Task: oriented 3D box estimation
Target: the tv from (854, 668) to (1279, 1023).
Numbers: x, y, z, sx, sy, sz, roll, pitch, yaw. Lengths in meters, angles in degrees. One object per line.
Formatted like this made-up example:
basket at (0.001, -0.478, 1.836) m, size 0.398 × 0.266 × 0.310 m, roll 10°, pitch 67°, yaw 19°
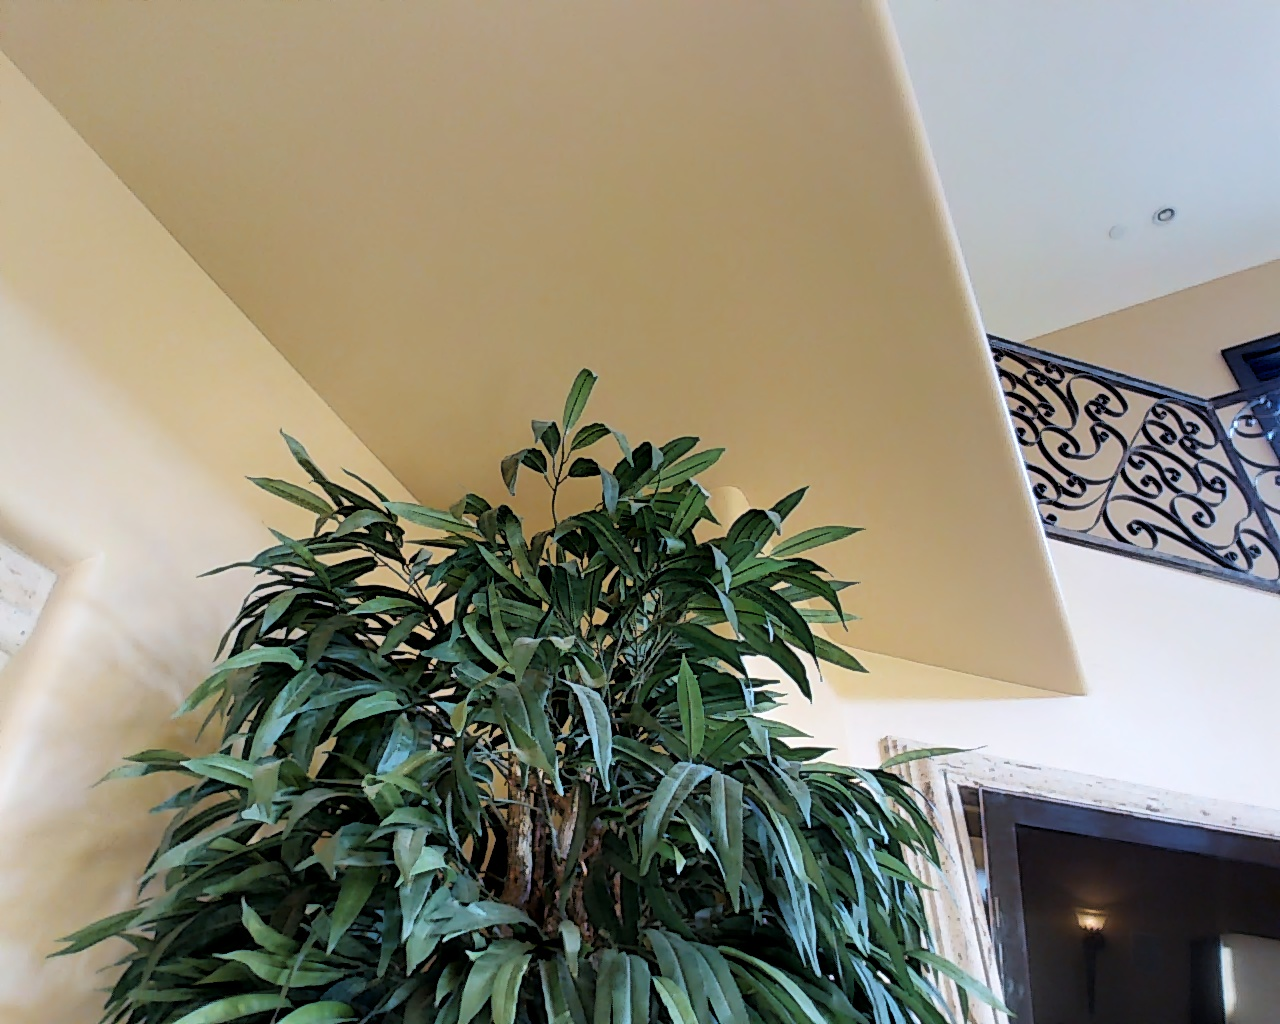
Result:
tv at (1.370, 0.980, 2.410) m, size 1.749 × 1.000 × 0.160 m, roll 13°, pitch -43°, yaw -14°
